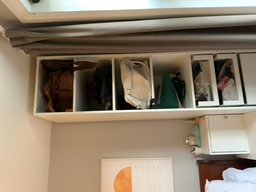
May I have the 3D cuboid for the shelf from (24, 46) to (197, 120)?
[{"bbox_3d":[-0.140,-0.080,2.010,0.600,1.350,0.540,86,-177,-78],"label":"shelf"}]
